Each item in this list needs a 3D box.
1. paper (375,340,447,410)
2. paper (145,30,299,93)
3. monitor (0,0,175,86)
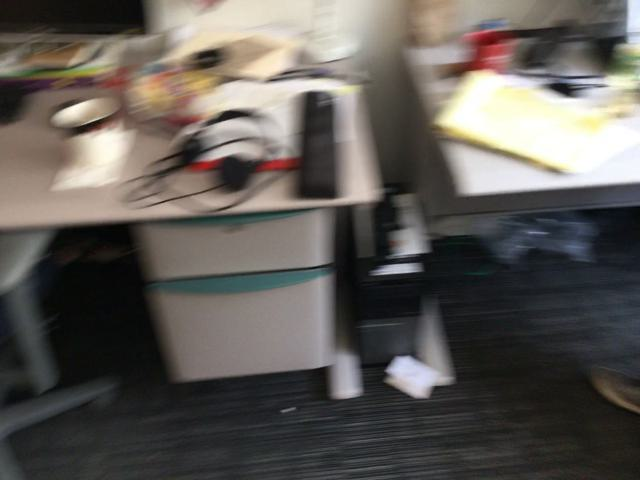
[{"bbox_3d":[0.250,0.370,1.600,0.160,0.070,0.110,25,47,30],"label":"paper"},{"bbox_3d":[-0.240,-0.470,1.500,0.330,0.050,0.280,3,40,7],"label":"paper"},{"bbox_3d":[-0.710,-0.620,1.380,0.600,0.450,0.190,1,40,5],"label":"monitor"}]
